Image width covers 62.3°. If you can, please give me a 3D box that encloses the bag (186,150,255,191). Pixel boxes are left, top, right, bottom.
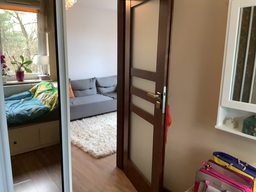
[{"bbox_3d":[0.690,0.620,1.490,0.340,0.260,0.420,-10,17,-44],"label":"bag"}]

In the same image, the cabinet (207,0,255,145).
[{"bbox_3d":[0.890,-0.190,1.340,0.160,1.010,0.630,-9,16,-40],"label":"cabinet"}]
